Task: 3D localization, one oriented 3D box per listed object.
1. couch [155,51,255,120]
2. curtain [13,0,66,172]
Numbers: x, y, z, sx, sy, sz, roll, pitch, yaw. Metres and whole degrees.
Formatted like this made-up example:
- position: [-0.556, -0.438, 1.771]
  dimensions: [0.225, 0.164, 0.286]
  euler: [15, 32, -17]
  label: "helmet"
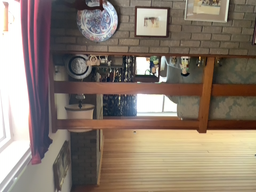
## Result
- position: [1.510, -0.210, 3.160]
  dimensions: [2.010, 0.780, 1.100]
  euler: [2, -166, -3]
  label: "couch"
- position: [-0.730, -0.140, 1.860]
  dimensions: [0.200, 1.490, 0.480]
  euler: [2, -166, -1]
  label: "curtain"
